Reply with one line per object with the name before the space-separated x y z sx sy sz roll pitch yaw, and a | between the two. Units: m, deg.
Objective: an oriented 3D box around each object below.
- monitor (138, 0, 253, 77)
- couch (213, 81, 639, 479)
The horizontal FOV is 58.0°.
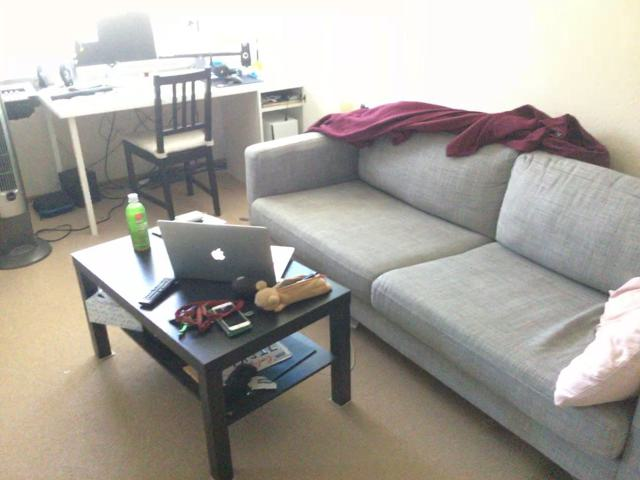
monitor | -0.760 -1.270 3.580 0.580 0.400 0.340 -16 31 -31
couch | 0.550 0.060 2.140 0.970 0.810 2.210 -16 31 -31
